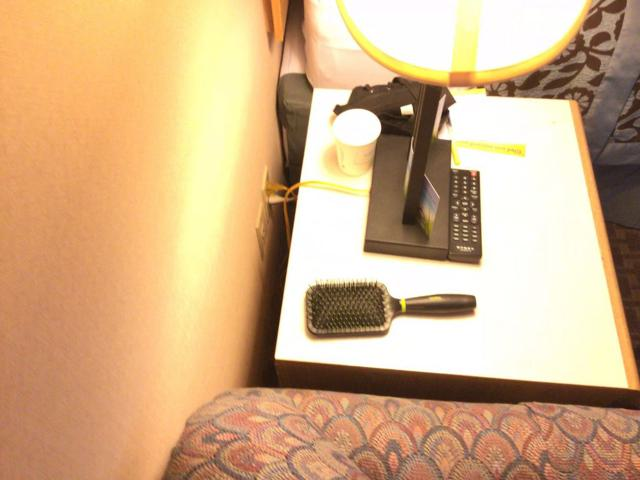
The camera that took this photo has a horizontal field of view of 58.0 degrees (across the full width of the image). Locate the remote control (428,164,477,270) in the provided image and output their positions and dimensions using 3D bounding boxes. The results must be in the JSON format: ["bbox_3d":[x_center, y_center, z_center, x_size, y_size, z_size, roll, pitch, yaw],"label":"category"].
[{"bbox_3d":[0.210,-0.040,0.920,0.070,0.030,0.180,3,58,8],"label":"remote control"}]
